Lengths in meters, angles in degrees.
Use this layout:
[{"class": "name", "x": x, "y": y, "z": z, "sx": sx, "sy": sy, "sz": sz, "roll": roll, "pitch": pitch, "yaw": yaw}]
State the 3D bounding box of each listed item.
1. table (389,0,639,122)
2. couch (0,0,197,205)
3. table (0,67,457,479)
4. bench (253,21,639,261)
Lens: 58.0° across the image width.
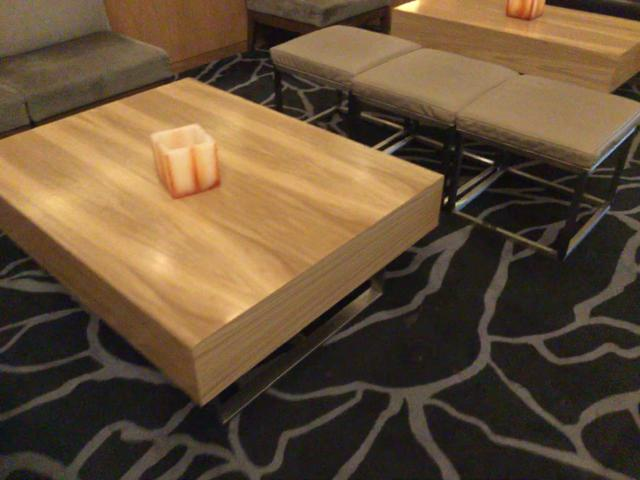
[{"class": "table", "x": 1.060, "y": -1.040, "z": 3.010, "sx": 1.240, "sy": 0.340, "sz": 0.660, "roll": 27, "pitch": 45, "yaw": 35}, {"class": "couch", "x": -1.420, "y": -0.720, "z": 2.500, "sx": 0.690, "sy": 0.820, "sz": 1.520, "roll": 27, "pitch": 45, "yaw": 35}, {"class": "table", "x": -0.410, "y": -0.050, "z": 1.850, "sx": 1.310, "sy": 0.490, "sz": 0.940, "roll": 27, "pitch": 45, "yaw": 35}, {"class": "bench", "x": 0.460, "y": -0.520, "z": 2.460, "sx": 1.490, "sy": 0.440, "sz": 0.610, "roll": 27, "pitch": 45, "yaw": 35}]
